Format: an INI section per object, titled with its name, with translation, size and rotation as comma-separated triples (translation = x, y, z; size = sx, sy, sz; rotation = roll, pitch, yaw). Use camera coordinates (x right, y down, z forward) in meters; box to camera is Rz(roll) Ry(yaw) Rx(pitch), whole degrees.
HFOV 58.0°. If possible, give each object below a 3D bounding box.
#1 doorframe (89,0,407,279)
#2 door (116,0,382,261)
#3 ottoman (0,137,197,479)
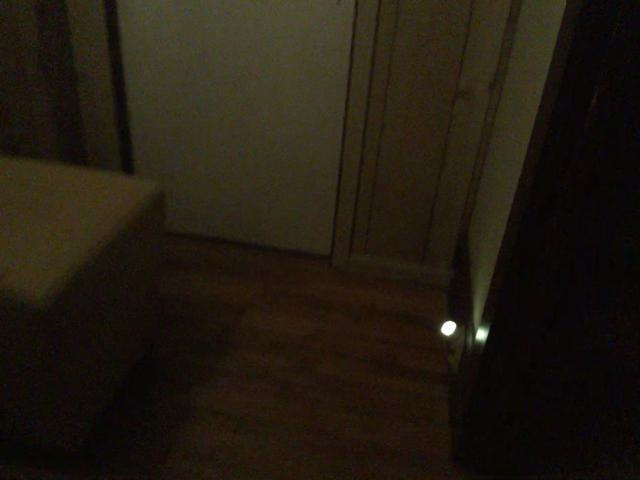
[doorframe]
translation = -0.210, -0.840, 1.600
size = 0.920, 2.090, 0.130
rotation = 6, 31, 7
[door]
translation = -0.220, -0.840, 1.660
size = 0.810, 2.010, 0.050
rotation = 6, 31, 7
[ottoman]
translation = -0.670, 0.140, 1.380
size = 0.540, 0.580, 0.530
rotation = 6, 31, 8
